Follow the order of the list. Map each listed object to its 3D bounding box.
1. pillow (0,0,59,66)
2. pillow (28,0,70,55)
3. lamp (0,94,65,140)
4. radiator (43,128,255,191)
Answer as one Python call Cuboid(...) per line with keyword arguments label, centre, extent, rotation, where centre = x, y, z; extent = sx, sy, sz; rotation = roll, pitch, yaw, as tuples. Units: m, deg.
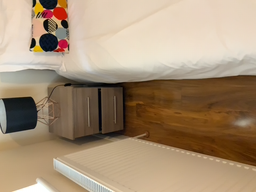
Cuboid(label="pillow", centre=(-0.760, -0.600, 1.530), extent=(0.150, 0.480, 0.730), rotation=(-173, 83, -69))
Cuboid(label="pillow", centre=(-0.570, -0.620, 1.520), extent=(0.130, 0.270, 0.620), rotation=(-168, 78, -64))
Cuboid(label="lamp", centre=(-0.760, 0.130, 1.580), extent=(0.300, 0.470, 0.260), rotation=(4, 97, 46))
Cuboid(label="radiator", centre=(0.210, 0.310, 0.980), extent=(1.290, 0.690, 0.080), rotation=(-1, 93, 47))
